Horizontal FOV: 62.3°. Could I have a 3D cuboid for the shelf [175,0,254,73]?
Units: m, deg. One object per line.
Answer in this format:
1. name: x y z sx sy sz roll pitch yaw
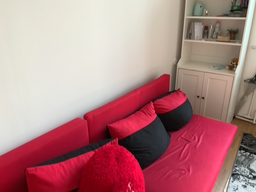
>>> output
1. shelf: 1.040 -0.960 2.560 0.730 1.210 0.390 15 26 33
